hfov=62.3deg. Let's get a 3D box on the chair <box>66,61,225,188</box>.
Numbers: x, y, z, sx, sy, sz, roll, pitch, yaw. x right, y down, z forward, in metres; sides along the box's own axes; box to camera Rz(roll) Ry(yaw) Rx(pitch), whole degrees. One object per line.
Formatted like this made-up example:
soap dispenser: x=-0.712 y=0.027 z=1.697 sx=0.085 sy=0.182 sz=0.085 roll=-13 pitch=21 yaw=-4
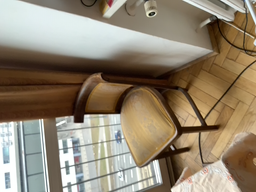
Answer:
chair: x=0.110 y=0.150 z=1.370 sx=0.460 sy=0.780 sz=0.490 roll=-55 pitch=51 yaw=34
